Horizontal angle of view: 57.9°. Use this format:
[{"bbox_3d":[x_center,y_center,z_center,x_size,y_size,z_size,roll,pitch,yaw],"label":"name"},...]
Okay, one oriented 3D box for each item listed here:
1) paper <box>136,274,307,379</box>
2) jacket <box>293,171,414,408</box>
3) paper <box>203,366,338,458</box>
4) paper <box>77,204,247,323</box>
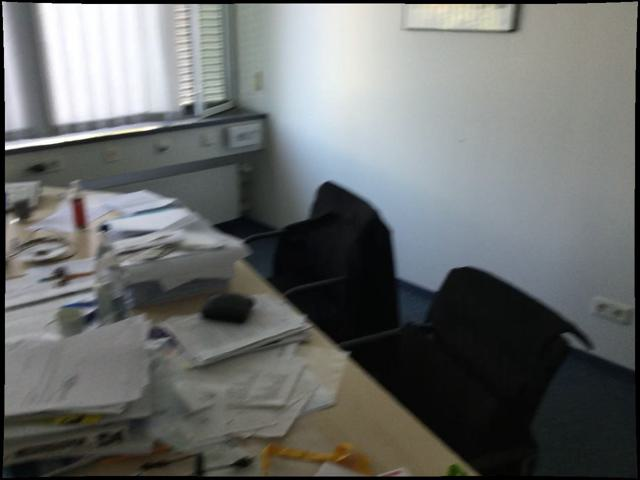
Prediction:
[{"bbox_3d":[-0.260,0.210,1.530,0.330,0.040,0.310,-21,30,-38],"label":"paper"},{"bbox_3d":[0.110,0.170,2.210,0.170,0.741,0.520,-14,27,-27],"label":"jacket"},{"bbox_3d":[-0.100,0.350,1.210,0.240,0.010,0.150,-21,30,-38],"label":"paper"},{"bbox_3d":[-0.490,0.050,1.760,0.440,0.150,0.370,-10,25,-20],"label":"paper"}]
